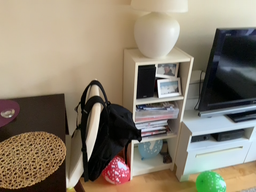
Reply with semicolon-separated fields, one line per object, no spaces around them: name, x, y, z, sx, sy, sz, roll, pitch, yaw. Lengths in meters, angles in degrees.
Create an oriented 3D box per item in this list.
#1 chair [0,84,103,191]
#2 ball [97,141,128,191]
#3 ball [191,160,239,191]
chair;-0.460;0.410;1.420;0.550;0.860;0.430;-3;30;-9
ball;-0.140;0.580;1.800;0.190;0.160;0.370;-5;31;-13
ball;0.670;0.680;1.670;0.230;0.210;0.220;-6;31;-14
